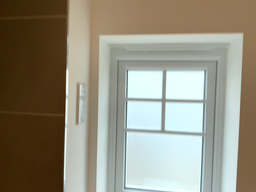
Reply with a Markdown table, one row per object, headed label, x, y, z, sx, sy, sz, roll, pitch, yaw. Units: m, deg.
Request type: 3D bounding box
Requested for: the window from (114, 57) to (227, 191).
| label | x | y | z | sx | sy | sz | roll | pitch | yaw |
| --- | --- | --- | --- | --- | --- | --- | --- | --- | --- |
| window | 0.200 | 0.170 | 1.080 | 0.520 | 0.720 | 0.060 | 2 | 2 | 11 |
